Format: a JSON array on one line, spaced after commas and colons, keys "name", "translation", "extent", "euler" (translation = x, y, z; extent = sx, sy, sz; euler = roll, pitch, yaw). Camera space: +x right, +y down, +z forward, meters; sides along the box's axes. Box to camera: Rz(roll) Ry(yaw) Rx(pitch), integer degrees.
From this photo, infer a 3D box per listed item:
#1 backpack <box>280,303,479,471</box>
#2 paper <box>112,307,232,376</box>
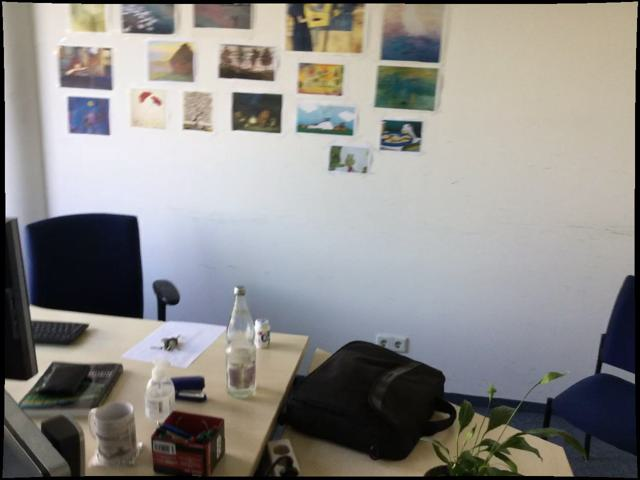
[{"name": "backpack", "translation": [0.160, 0.350, 1.510], "extent": [0.350, 0.160, 0.400], "euler": [15, 23, 35]}, {"name": "paper", "translation": [-0.440, 0.300, 1.760], "extent": [0.240, 0.040, 0.300], "euler": [6, 19, 13]}]
